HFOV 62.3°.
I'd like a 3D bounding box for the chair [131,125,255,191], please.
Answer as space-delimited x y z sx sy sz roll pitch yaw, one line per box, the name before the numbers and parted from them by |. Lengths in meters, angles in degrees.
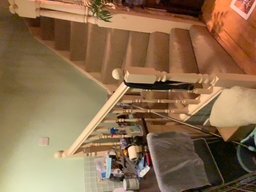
chair | 0.560 0.570 1.710 0.450 0.920 0.470 108 156 -45
